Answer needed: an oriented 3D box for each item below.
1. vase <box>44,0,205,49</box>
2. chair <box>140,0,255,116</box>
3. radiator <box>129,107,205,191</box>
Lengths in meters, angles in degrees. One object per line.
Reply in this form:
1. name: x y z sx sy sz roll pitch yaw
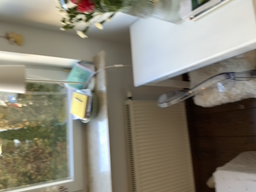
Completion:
1. vase: -0.030 -0.400 0.890 0.430 0.510 0.190 -17 75 54
2. chair: 0.540 -0.130 1.200 0.430 0.820 0.420 -18 74 54
3. radiator: 0.330 0.670 1.590 0.100 0.630 1.160 -13 78 54
